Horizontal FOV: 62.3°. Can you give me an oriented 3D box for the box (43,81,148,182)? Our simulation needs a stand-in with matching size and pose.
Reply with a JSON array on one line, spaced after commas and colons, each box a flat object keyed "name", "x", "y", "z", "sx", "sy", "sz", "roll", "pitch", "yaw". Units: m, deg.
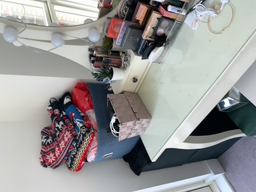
[{"name": "box", "x": -0.200, "y": 0.170, "z": 1.120, "sx": 0.310, "sy": 0.410, "sz": 0.370, "roll": -63, "pitch": 39, "yaw": 39}]
